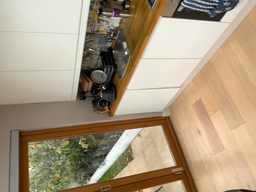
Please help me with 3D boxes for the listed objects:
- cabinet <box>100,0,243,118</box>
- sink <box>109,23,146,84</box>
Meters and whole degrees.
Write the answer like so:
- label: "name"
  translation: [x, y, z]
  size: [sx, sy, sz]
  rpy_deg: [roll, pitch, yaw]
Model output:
- label: "cabinet"
  translation: [0.310, -0.400, 2.490]
  size: [1.580, 0.910, 0.570]
  rpy_deg: [118, 143, -53]
- label: "sink"
  translation: [-0.030, -0.460, 2.340]
  size: [0.470, 0.180, 0.450]
  rpy_deg: [118, 143, -53]
